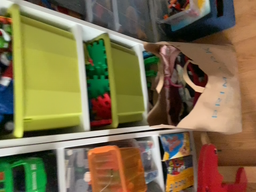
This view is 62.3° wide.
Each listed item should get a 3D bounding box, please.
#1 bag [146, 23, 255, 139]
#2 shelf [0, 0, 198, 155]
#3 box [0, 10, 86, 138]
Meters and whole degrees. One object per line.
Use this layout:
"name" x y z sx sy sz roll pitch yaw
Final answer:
"bag" 0.340 -0.030 0.960 0.270 0.420 0.390 -15 77 43
"shelf" -0.440 -0.050 0.580 0.280 2.040 0.420 -13 78 43
"box" -0.350 -0.040 0.660 0.250 0.340 0.320 -10 80 43
